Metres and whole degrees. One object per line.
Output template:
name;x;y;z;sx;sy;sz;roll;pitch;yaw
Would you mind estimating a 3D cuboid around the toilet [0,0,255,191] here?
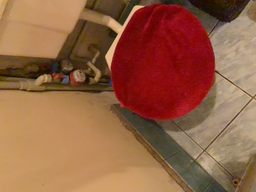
toilet;0.000;-0.180;0.830;0.650;0.890;0.460;44;114;26
